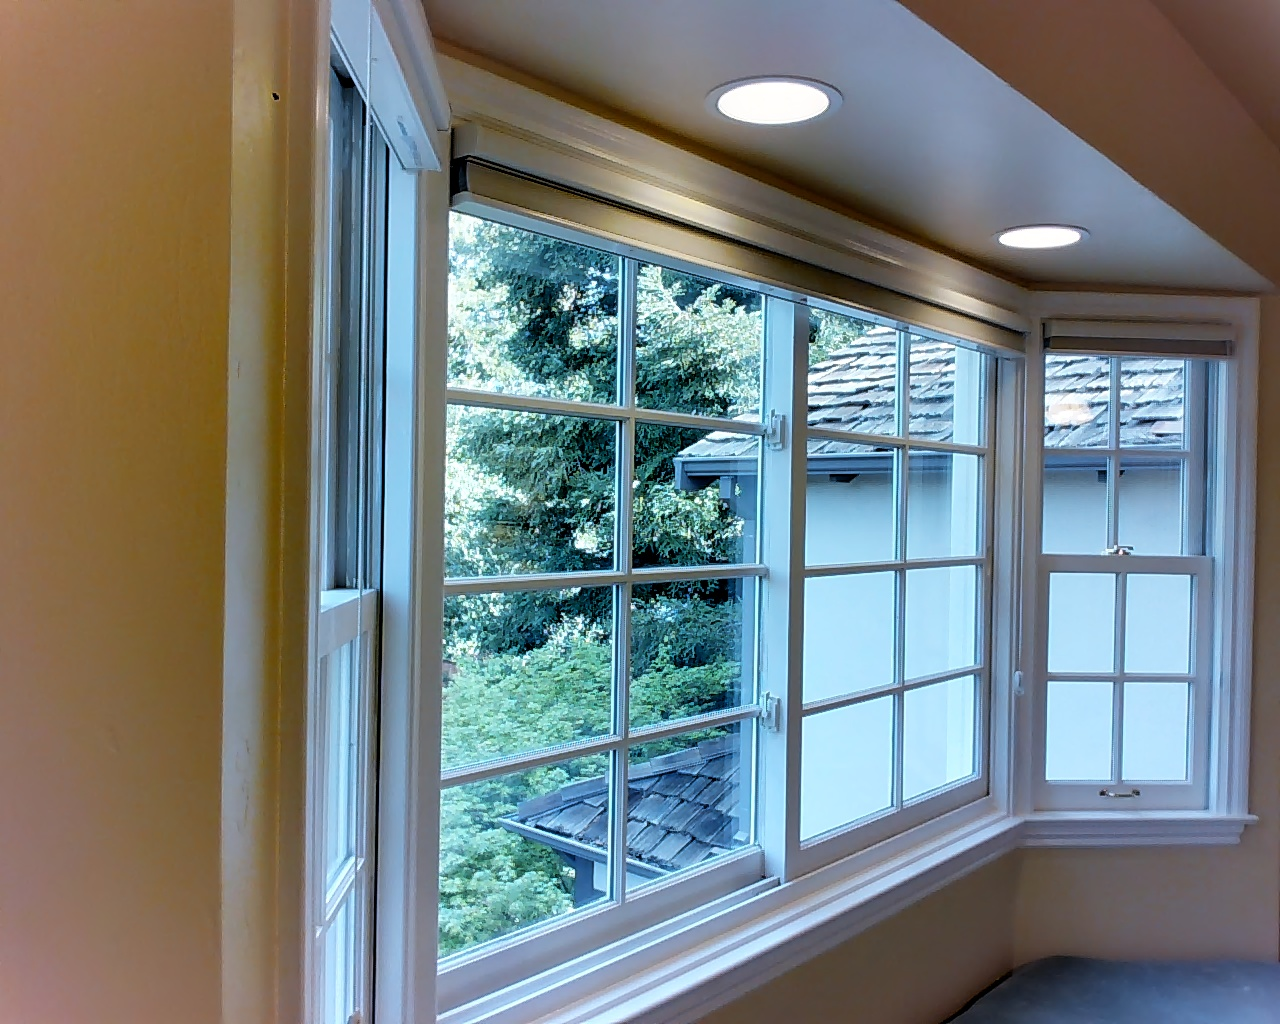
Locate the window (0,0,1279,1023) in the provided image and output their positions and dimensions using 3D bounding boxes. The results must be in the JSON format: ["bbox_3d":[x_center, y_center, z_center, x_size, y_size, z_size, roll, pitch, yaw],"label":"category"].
[{"bbox_3d":[0.420,0.260,1.790,0.620,1.610,2.650,2,1,42],"label":"window"}]
